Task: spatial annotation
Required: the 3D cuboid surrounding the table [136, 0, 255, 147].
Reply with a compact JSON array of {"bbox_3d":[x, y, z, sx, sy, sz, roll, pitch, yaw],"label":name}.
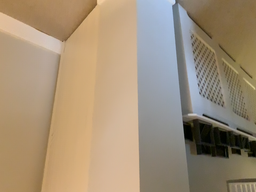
[{"bbox_3d":[0.940,-0.080,2.140,0.200,0.920,2.400,-18,153,39],"label":"table"}]
